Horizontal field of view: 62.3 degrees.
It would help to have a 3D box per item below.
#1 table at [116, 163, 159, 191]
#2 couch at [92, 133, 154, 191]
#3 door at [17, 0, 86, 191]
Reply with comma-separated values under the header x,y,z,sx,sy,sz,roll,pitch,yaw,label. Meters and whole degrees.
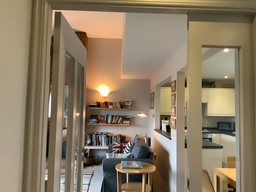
x,y,z,sx,sy,sz,roll,pitch,yaw,label
0.120,1.320,3.080,0.570,0.540,0.550,1,-4,-1,table
-0.120,1.250,4.230,0.980,0.820,1.710,1,-3,-4,couch
-0.510,0.480,1.550,0.180,2.070,0.810,1,-3,0,door
